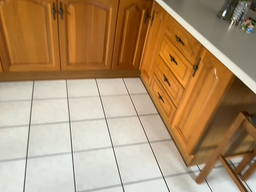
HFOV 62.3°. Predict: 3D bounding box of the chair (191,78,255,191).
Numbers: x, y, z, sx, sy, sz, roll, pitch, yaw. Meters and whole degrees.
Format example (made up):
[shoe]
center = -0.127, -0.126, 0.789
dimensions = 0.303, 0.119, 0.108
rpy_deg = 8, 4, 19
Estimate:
[chair]
center = 0.780, 0.350, 1.170
dimensions = 0.380, 0.980, 0.420
rpy_deg = -3, 41, -17
